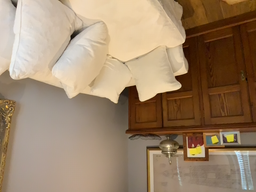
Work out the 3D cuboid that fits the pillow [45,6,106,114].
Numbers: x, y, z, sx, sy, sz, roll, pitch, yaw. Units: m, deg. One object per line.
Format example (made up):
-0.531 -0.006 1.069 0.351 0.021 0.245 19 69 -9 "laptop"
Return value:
-0.350 -0.250 1.620 0.240 0.530 0.580 12 149 1 "pillow"
